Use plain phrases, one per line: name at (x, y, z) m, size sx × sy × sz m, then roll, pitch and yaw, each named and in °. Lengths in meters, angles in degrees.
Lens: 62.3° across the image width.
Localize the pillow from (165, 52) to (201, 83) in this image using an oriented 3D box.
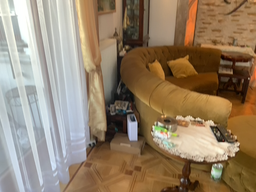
pillow at (0.880, -0.450, 3.390) m, size 0.430 × 0.350 × 0.220 m, roll 8°, pitch 24°, yaw -38°

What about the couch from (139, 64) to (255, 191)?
couch at (0.700, 0.230, 2.180) m, size 0.750 × 0.830 × 0.890 m, roll 21°, pitch 31°, yaw 38°

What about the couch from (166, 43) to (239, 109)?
couch at (1.150, -0.370, 3.520) m, size 0.760 × 0.840 × 0.850 m, roll -3°, pitch 24°, yaw -6°

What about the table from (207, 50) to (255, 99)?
table at (1.790, -0.400, 3.770) m, size 0.560 × 0.710 × 0.540 m, roll 6°, pitch 25°, yaw 12°

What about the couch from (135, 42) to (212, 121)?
couch at (0.650, -0.280, 3.260) m, size 0.690 × 0.880 × 0.840 m, roll -18°, pitch 30°, yaw -35°

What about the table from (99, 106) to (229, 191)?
table at (0.290, 0.590, 1.560) m, size 0.650 × 0.660 × 0.740 m, roll 13°, pitch 27°, yaw 26°
